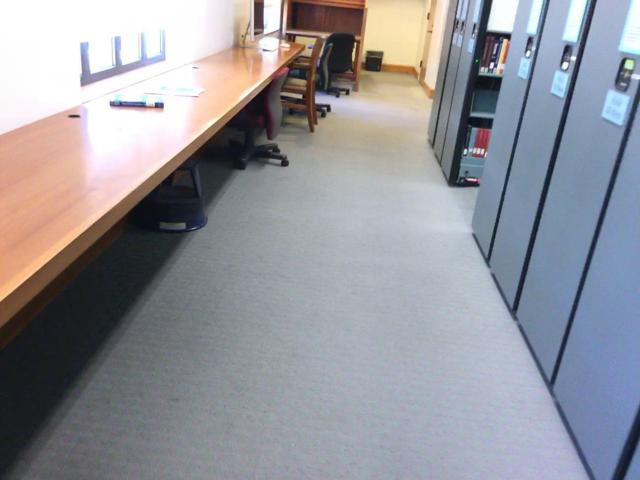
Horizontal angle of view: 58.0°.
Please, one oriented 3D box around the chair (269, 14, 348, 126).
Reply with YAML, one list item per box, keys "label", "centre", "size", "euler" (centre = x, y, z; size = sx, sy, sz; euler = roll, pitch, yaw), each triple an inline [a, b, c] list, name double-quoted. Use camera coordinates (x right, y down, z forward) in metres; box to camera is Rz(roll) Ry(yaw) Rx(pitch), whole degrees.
- label: "chair"
  centre: [-0.100, -1.690, 5.780]
  size: [0.640, 0.950, 0.660]
  euler: [7, 17, 1]
